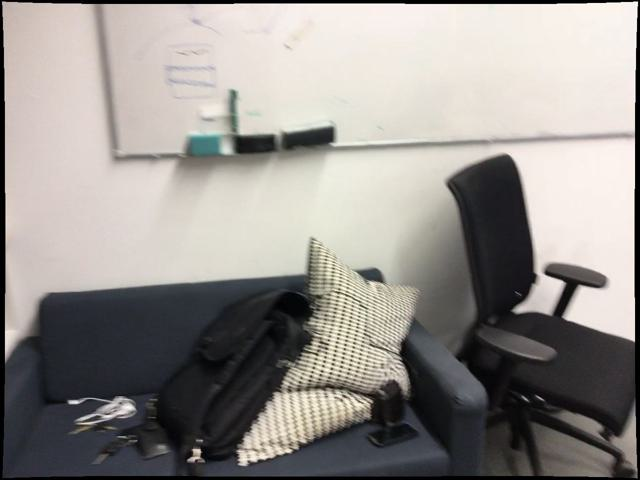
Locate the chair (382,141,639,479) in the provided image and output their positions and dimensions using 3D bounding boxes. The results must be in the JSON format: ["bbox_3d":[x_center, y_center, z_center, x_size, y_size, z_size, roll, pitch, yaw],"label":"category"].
[{"bbox_3d":[0.719,0.260,1.870,0.730,0.951,0.730,15,26,32],"label":"chair"}]

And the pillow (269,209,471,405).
[{"bbox_3d":[0.120,0.180,1.880,0.510,0.380,0.550,-4,22,-9],"label":"pillow"}]

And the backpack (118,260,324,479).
[{"bbox_3d":[-0.280,0.360,1.730,0.500,0.400,0.510,-4,22,-9],"label":"backpack"}]

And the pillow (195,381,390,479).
[{"bbox_3d":[-0.080,0.521,1.580,0.500,0.120,0.200,-4,22,-9],"label":"pillow"}]

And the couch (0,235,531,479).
[{"bbox_3d":[-0.340,0.531,1.790,1.588,0.751,0.820,-4,22,-9],"label":"couch"}]
